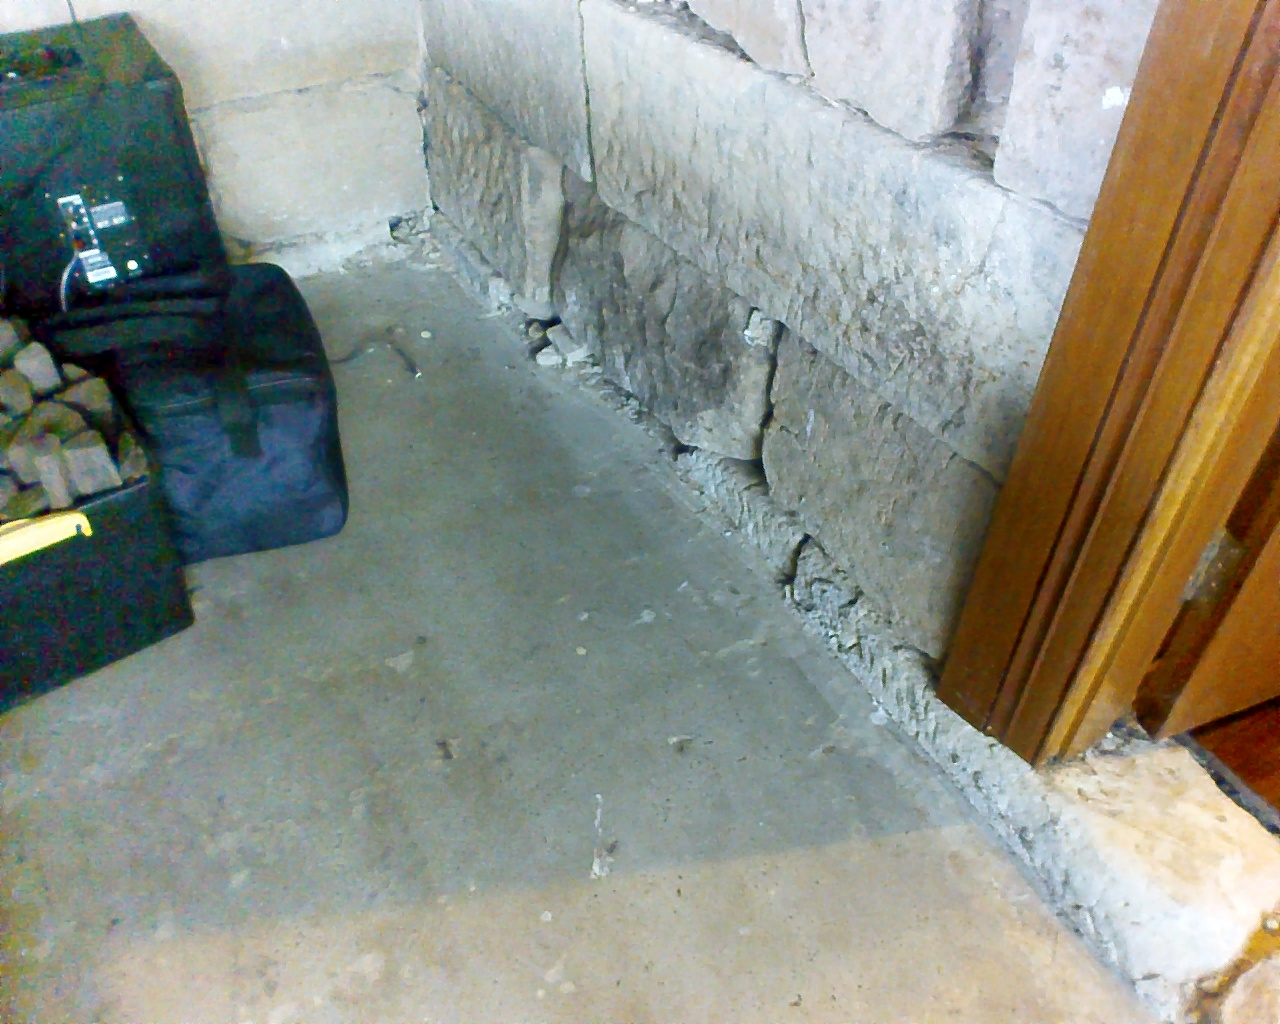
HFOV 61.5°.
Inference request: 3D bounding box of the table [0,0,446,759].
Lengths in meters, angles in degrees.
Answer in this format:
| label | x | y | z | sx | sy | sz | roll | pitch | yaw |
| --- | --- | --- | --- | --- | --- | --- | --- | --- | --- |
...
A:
| label | x | y | z | sx | sy | sz | roll | pitch | yaw |
| --- | --- | --- | --- | --- | --- | --- | --- | --- | --- |
| table | -0.880 | -0.230 | 1.500 | 0.870 | 0.600 | 0.900 | -20 | 47 | -22 |
